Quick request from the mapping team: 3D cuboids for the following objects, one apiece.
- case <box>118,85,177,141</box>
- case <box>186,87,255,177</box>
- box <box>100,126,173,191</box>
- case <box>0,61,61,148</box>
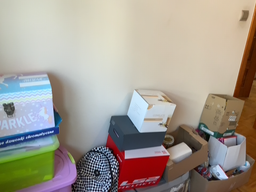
[{"bbox_3d":[0.120,0.100,1.430,0.300,0.250,0.240,-10,26,-27],"label":"case"},{"bbox_3d":[0.840,0.330,1.970,0.390,0.740,0.260,-7,25,-21],"label":"case"},{"bbox_3d":[0.050,0.450,1.490,0.430,0.320,0.240,-9,26,-26],"label":"box"},{"bbox_3d":[-0.590,0.030,1.000,0.450,0.290,0.310,-9,26,-25],"label":"case"}]
